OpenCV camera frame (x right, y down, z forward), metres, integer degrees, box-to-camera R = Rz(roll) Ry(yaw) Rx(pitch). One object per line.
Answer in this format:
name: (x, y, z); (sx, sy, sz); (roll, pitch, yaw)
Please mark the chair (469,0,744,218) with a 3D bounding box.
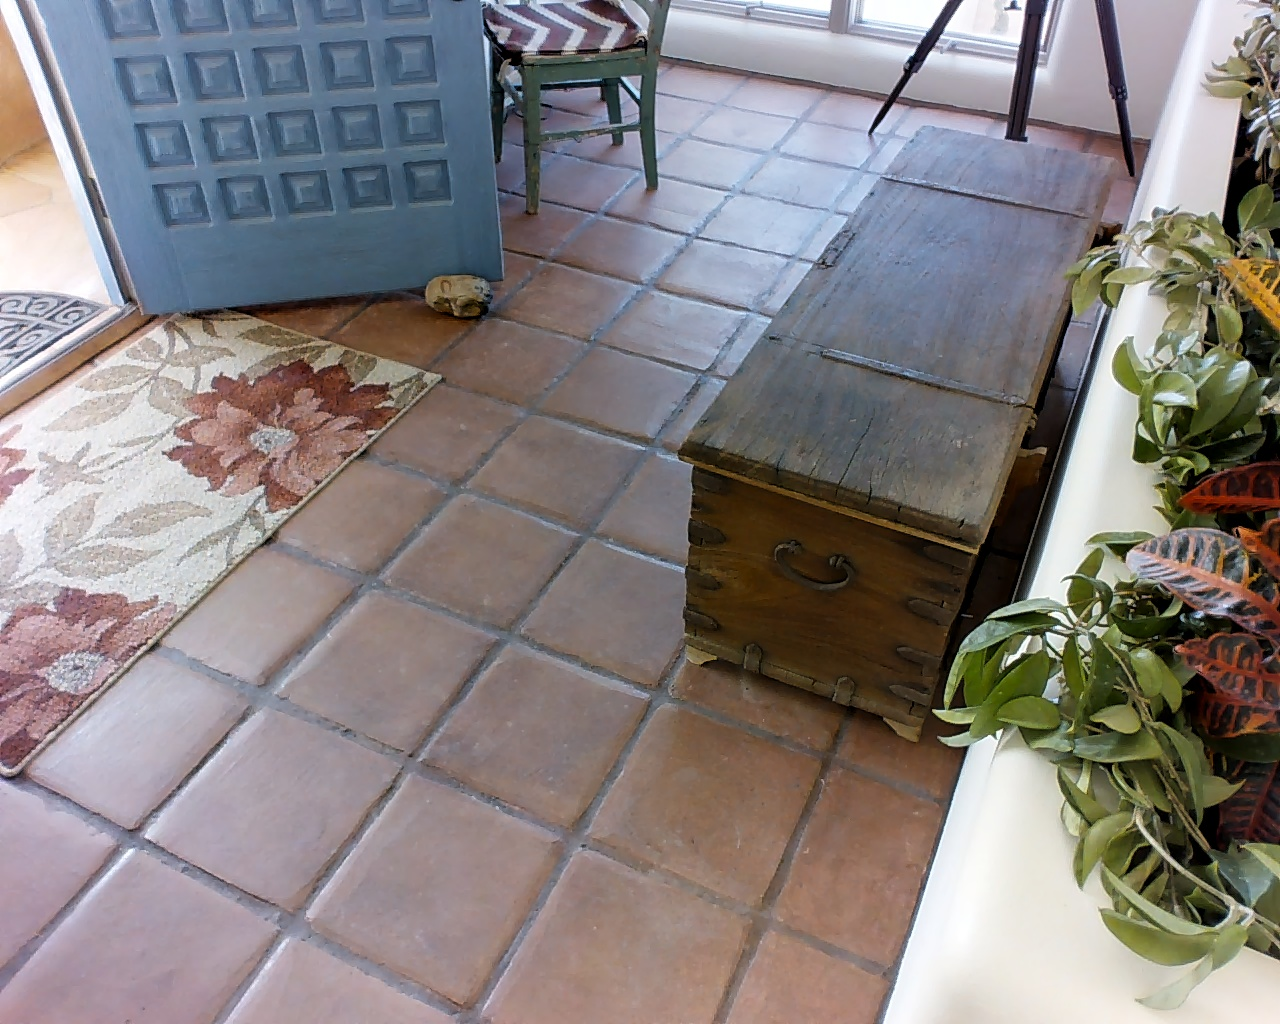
chair: (-0.110, -1.430, 3.060); (0.660, 0.930, 0.490); (-13, 44, -14)
